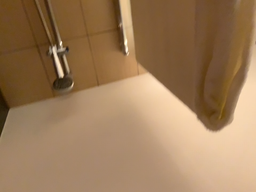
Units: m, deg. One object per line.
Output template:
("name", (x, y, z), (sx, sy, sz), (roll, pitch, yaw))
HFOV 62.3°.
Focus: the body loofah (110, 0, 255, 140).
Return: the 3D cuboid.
("body loofah", (0.080, -0.300, 0.580), (0.120, 0.570, 0.610), (-16, -149, -14))
